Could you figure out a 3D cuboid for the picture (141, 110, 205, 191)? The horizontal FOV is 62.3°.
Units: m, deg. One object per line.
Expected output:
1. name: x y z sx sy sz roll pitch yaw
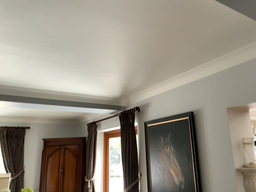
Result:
1. picture: 0.410 0.710 2.220 0.050 0.990 0.910 6 -15 -27
